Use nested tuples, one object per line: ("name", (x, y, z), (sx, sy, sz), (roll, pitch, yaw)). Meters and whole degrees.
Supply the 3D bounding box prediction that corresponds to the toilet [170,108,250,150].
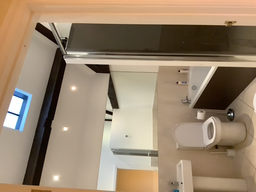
("toilet", (1.100, 0.490, 3.030), (0.650, 0.870, 0.380), (87, -174, -63))
